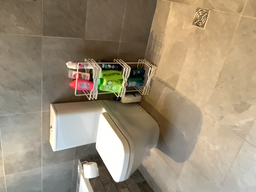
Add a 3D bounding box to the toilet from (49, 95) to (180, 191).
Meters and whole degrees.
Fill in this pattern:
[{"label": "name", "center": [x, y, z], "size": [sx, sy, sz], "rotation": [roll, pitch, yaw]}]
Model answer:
[{"label": "toilet", "center": [-0.150, 0.340, 1.710], "size": [0.650, 0.800, 0.400], "rotation": [44, 131, 49]}]
